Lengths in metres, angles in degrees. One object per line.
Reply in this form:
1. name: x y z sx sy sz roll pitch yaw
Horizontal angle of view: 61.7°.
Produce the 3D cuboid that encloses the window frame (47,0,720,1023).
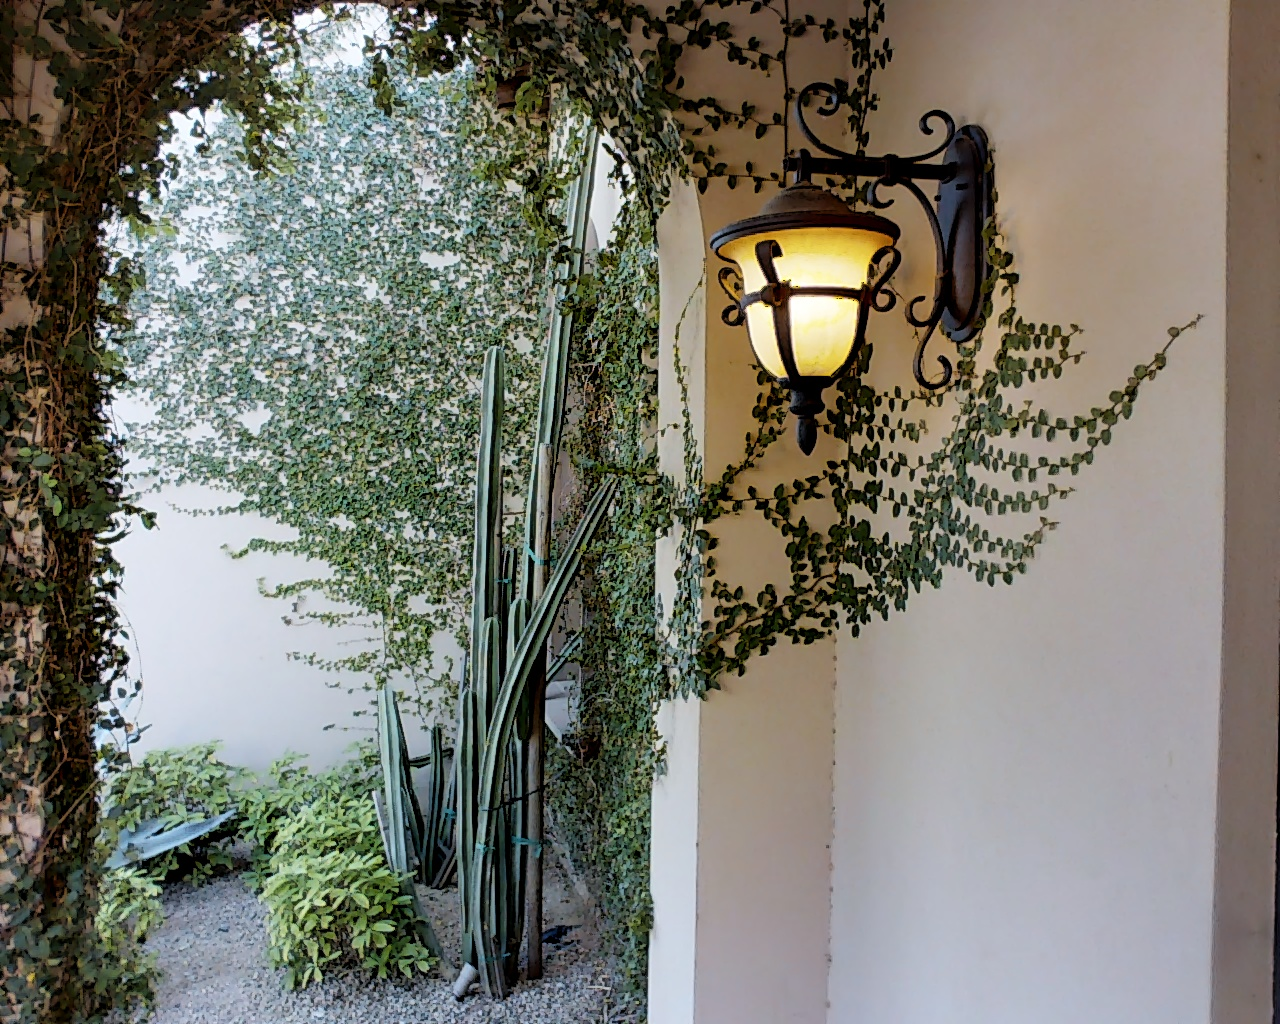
1. window frame: -0.500 0.200 2.220 1.170 2.830 0.500 1 1 -13
